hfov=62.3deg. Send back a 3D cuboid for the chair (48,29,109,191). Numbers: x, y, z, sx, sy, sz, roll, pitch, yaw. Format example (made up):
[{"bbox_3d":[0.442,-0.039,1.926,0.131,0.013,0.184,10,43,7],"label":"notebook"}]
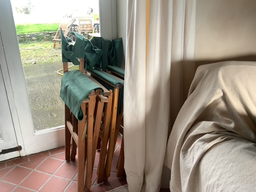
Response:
[{"bbox_3d":[-0.340,0.060,1.420,0.190,0.920,0.650,-9,24,-24],"label":"chair"}]

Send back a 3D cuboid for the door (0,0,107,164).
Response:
[{"bbox_3d":[-0.820,-0.410,1.340,1.430,1.920,0.040,-10,24,-26],"label":"door"}]
